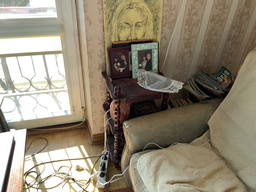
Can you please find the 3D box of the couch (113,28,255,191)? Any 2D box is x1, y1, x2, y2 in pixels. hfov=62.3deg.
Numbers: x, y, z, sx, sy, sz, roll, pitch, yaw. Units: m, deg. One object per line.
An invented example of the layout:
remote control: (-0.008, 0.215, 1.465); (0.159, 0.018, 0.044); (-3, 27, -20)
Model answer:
couch: (0.440, 0.290, 1.010); (0.860, 0.950, 0.790); (-7, 37, -15)
